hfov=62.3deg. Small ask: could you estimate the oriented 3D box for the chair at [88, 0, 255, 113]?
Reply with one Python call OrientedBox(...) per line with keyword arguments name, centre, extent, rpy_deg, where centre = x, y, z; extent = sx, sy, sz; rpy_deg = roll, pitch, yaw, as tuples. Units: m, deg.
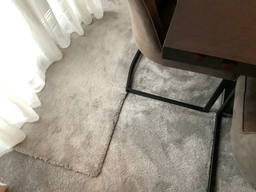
OrientedBox(name="chair", centre=(0.210, -0.420, 1.010), extent=(0.580, 0.940, 0.490), rpy_deg=(19, 63, 13))
